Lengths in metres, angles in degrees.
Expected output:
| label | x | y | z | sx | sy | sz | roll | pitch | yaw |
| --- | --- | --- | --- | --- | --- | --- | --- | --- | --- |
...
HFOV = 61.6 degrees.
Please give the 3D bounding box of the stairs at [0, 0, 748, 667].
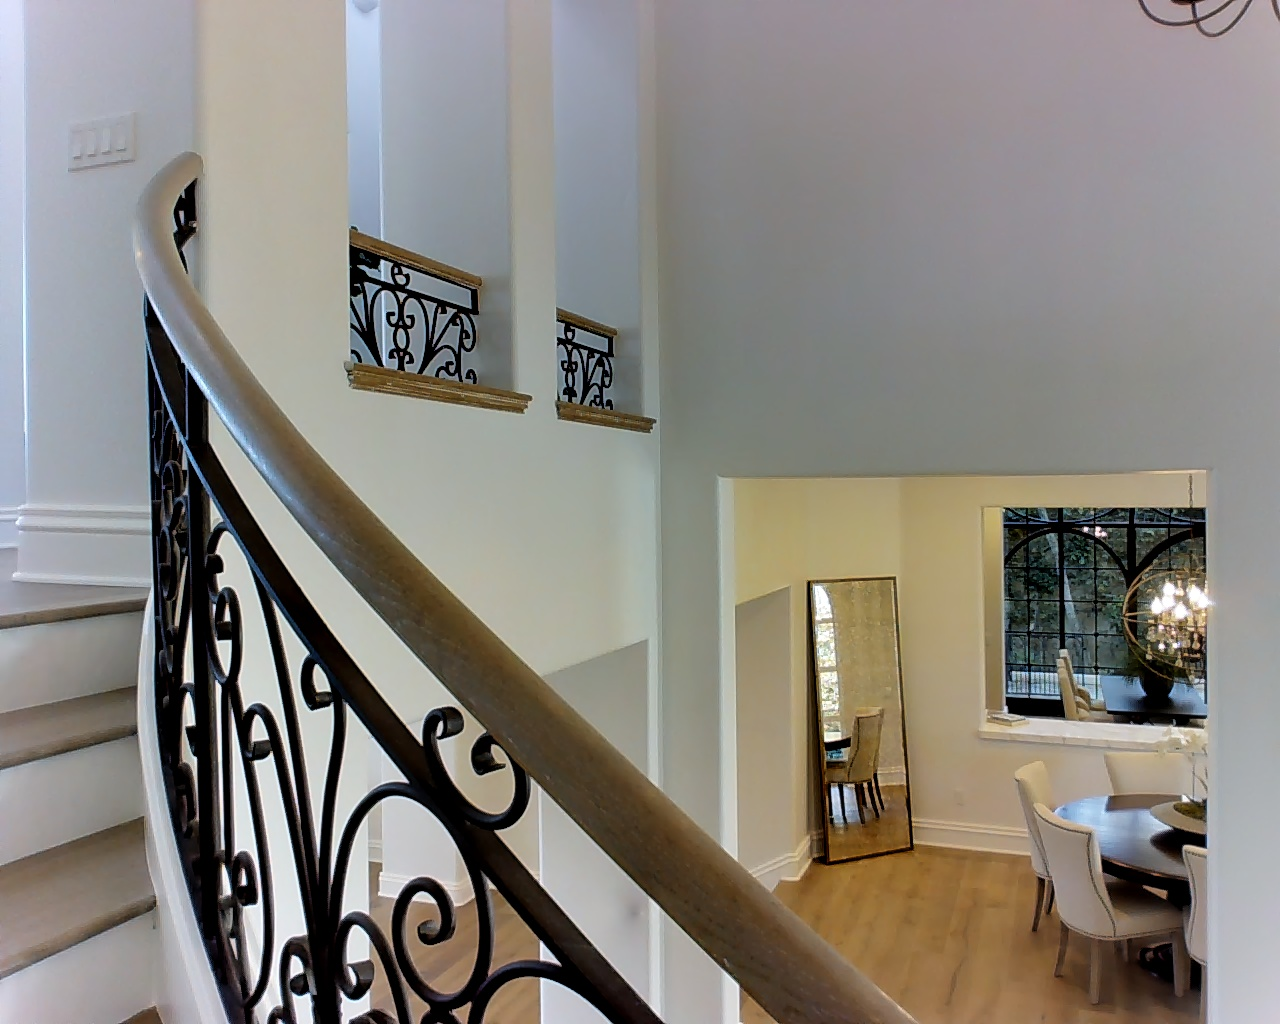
| label | x | y | z | sx | sy | sz | roll | pitch | yaw |
| --- | --- | --- | --- | --- | --- | --- | --- | --- | --- |
| stairs | -2.169 | -1.540 | 3.950 | 4.249 | 3.511 | 3.660 | 0 | 0 | 21 |
